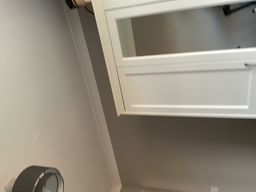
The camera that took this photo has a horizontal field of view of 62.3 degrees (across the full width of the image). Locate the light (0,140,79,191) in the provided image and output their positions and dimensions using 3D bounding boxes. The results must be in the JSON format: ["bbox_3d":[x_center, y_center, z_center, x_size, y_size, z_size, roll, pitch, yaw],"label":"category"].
[{"bbox_3d":[-0.620,0.570,1.410,0.370,0.360,0.360,2,126,18],"label":"light"}]
